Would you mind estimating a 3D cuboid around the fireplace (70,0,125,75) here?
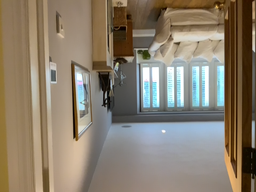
[{"bbox_3d":[-0.320,-0.960,2.950,0.530,1.270,1.680,-1,-176,-1],"label":"fireplace"}]
